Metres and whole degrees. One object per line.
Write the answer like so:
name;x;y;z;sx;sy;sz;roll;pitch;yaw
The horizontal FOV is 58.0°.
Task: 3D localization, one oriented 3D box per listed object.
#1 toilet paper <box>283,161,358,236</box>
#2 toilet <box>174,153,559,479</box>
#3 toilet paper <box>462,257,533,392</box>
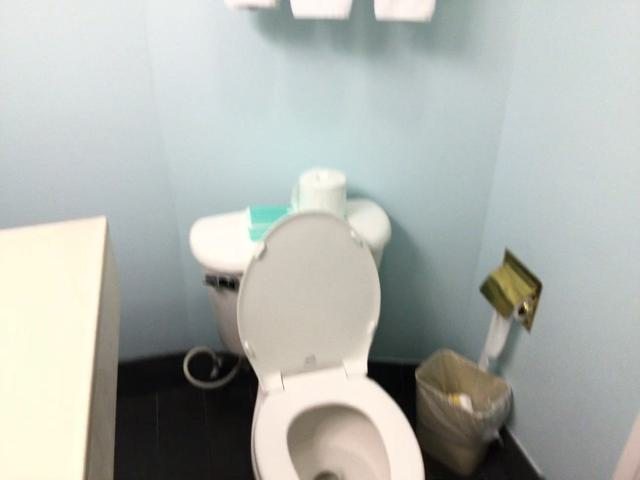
toilet paper;0.000;-0.100;1.360;0.140;0.110;0.140;-9;30;-12
toilet;0.020;0.360;1.320;0.530;0.850;0.740;-9;30;-12
toilet paper;0.450;0.220;1.490;0.090;0.320;0.130;-9;30;-12
